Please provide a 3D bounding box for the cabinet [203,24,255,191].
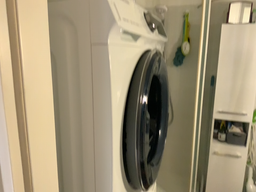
[{"bbox_3d":[0.900,0.320,1.910,0.310,1.800,0.330,6,13,22],"label":"cabinet"}]
